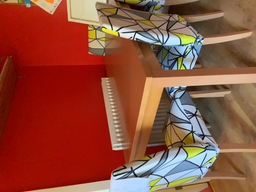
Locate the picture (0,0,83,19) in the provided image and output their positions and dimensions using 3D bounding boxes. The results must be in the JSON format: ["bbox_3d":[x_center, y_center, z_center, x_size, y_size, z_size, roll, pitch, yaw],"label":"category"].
[{"bbox_3d":[-0.870,-1.050,2.030,0.630,0.840,0.020,100,161,-45],"label":"picture"}]
